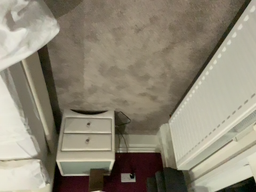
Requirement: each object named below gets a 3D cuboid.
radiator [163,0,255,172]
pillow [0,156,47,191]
[{"bbox_3d":[0.520,0.000,1.290,0.110,0.510,1.480,2,146,-10],"label":"radiator"},{"bbox_3d":[-0.970,0.600,1.580,0.640,0.170,0.420,4,145,-13],"label":"pillow"}]
